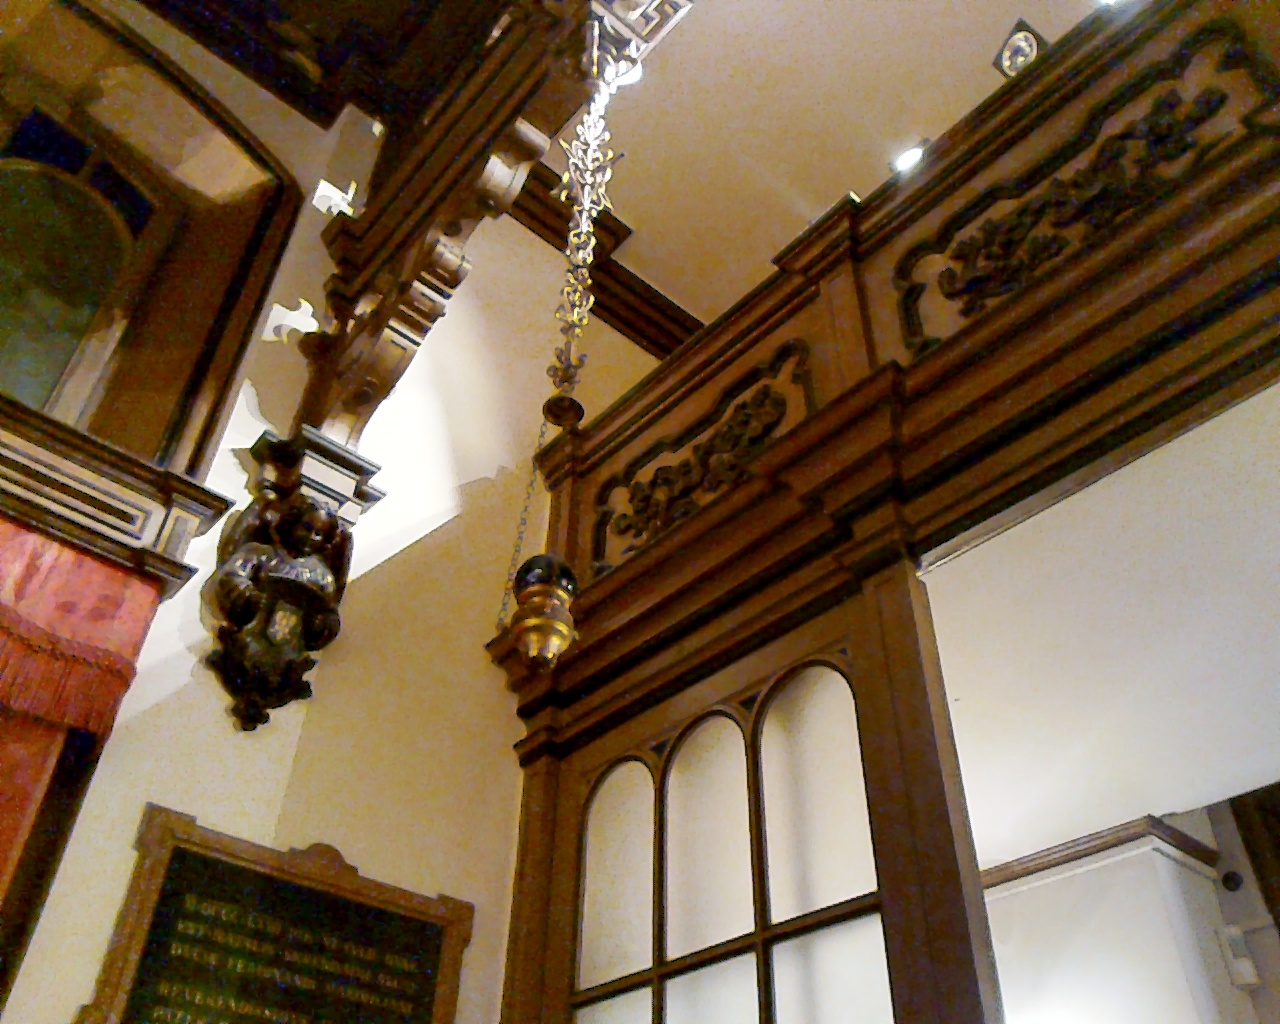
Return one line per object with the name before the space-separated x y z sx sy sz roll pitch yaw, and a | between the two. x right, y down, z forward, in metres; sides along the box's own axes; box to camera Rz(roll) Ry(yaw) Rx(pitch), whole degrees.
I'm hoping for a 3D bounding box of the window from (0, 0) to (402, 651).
window | -1.669 -1.000 2.700 1.810 2.190 0.400 31 -49 -29
